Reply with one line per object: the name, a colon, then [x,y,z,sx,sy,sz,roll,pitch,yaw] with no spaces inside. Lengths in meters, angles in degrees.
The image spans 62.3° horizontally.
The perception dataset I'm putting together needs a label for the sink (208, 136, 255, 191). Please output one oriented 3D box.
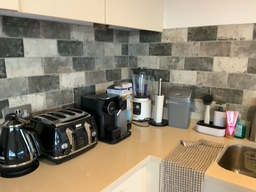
sink: [0.670,0.440,1.110,0.370,0.260,0.400,9,15,35]
